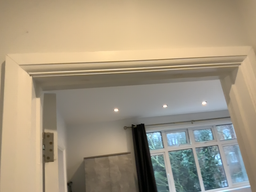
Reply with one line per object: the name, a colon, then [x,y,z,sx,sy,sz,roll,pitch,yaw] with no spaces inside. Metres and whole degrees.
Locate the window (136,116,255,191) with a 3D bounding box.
window: [1.410,1.230,4.310,2.320,1.450,0.090,-4,-18,-12]
